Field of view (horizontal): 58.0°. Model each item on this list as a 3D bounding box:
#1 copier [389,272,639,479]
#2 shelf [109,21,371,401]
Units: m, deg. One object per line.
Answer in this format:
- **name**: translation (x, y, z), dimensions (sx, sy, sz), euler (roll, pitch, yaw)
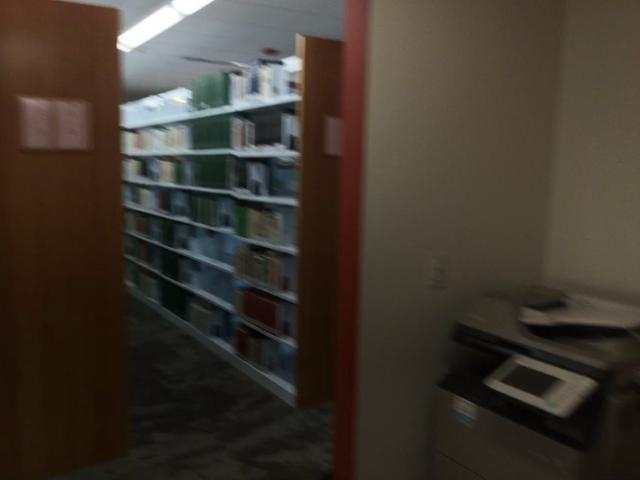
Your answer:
- **copier**: translation (0.720, 0.720, 1.830), dimensions (0.670, 1.060, 0.740), euler (-4, 10, -32)
- **shelf**: translation (-1.040, -0.400, 4.970), dimensions (0.520, 2.060, 4.100), euler (-4, 10, -32)
